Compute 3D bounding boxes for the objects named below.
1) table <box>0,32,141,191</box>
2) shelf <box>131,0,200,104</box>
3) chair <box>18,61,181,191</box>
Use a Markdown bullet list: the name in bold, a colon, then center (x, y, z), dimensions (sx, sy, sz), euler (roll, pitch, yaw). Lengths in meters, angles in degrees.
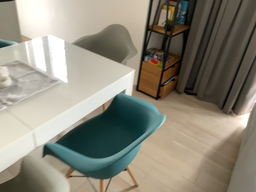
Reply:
- **table**: center (-0.810, 0.270, 1.340), dimensions (0.930, 0.780, 1.700), euler (26, 38, 25)
- **shelf**: center (0.460, -0.920, 2.250), dimensions (0.410, 1.990, 0.530), euler (24, 37, 24)
- **chair**: center (-0.160, 0.340, 1.330), dimensions (0.570, 0.820, 0.620), euler (27, 38, 27)
